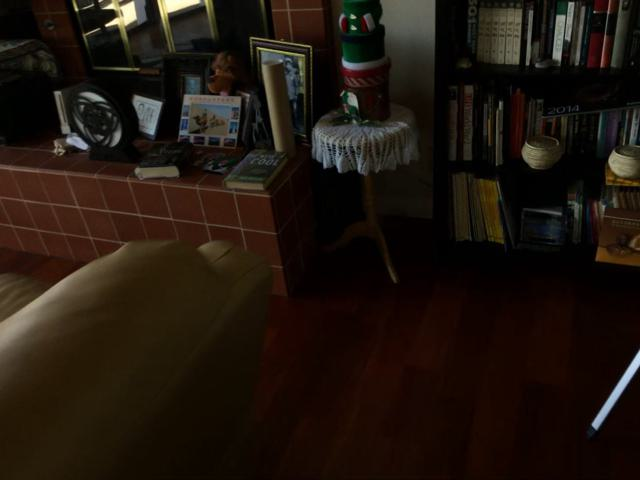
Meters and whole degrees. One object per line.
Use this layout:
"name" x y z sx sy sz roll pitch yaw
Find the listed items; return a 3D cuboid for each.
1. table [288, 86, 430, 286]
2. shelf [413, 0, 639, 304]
"table" 0.180 -0.220 2.280 0.420 0.640 0.400 7 36 19
"shelf" 0.820 -0.700 1.820 0.960 1.840 0.460 7 36 19
